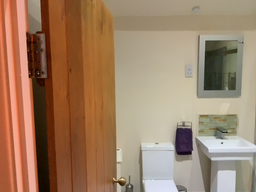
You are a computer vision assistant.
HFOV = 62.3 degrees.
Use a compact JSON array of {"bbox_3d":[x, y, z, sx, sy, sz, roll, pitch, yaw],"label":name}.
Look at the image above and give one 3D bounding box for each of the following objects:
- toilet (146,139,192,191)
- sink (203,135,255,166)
[{"bbox_3d":[0.400,0.960,2.280,0.400,0.800,0.650,0,7,4],"label":"toilet"},{"bbox_3d":[1.160,0.580,2.320,0.540,0.180,0.420,0,7,4],"label":"sink"}]
